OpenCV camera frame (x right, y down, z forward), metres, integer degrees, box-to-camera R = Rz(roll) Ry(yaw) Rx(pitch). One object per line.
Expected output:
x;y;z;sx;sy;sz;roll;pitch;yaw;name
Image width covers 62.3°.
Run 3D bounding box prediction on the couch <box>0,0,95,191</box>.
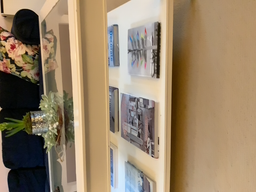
-0.900;0.500;2.250;0.980;0.770;2.560;12;104;60;couch
